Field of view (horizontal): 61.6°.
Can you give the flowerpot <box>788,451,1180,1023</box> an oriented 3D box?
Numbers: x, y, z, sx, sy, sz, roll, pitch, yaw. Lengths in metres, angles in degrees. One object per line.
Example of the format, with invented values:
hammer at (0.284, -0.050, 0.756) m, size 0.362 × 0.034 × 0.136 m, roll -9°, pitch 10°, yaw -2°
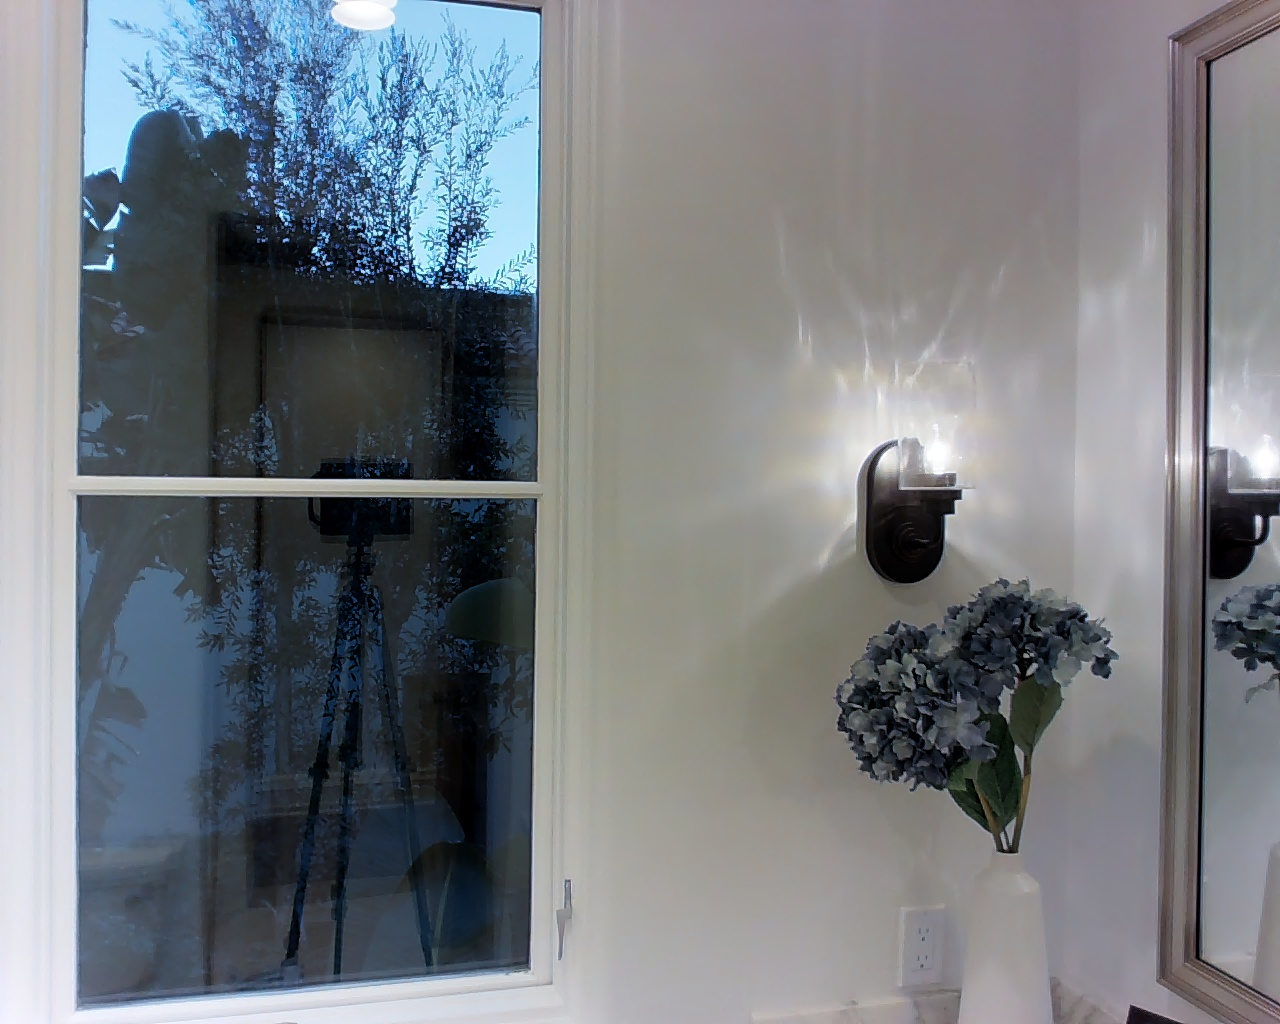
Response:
flowerpot at (0.420, 0.360, 1.350) m, size 0.380 × 0.850 × 0.270 m, roll 0°, pitch -1°, yaw -18°
